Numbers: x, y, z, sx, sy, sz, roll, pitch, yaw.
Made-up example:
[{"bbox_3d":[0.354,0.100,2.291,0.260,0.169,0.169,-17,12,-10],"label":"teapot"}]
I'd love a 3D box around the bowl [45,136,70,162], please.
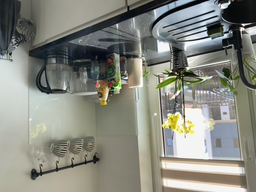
[{"bbox_3d":[-0.470,0.350,1.420,0.090,0.150,0.130,-8,172,37],"label":"bowl"}]
